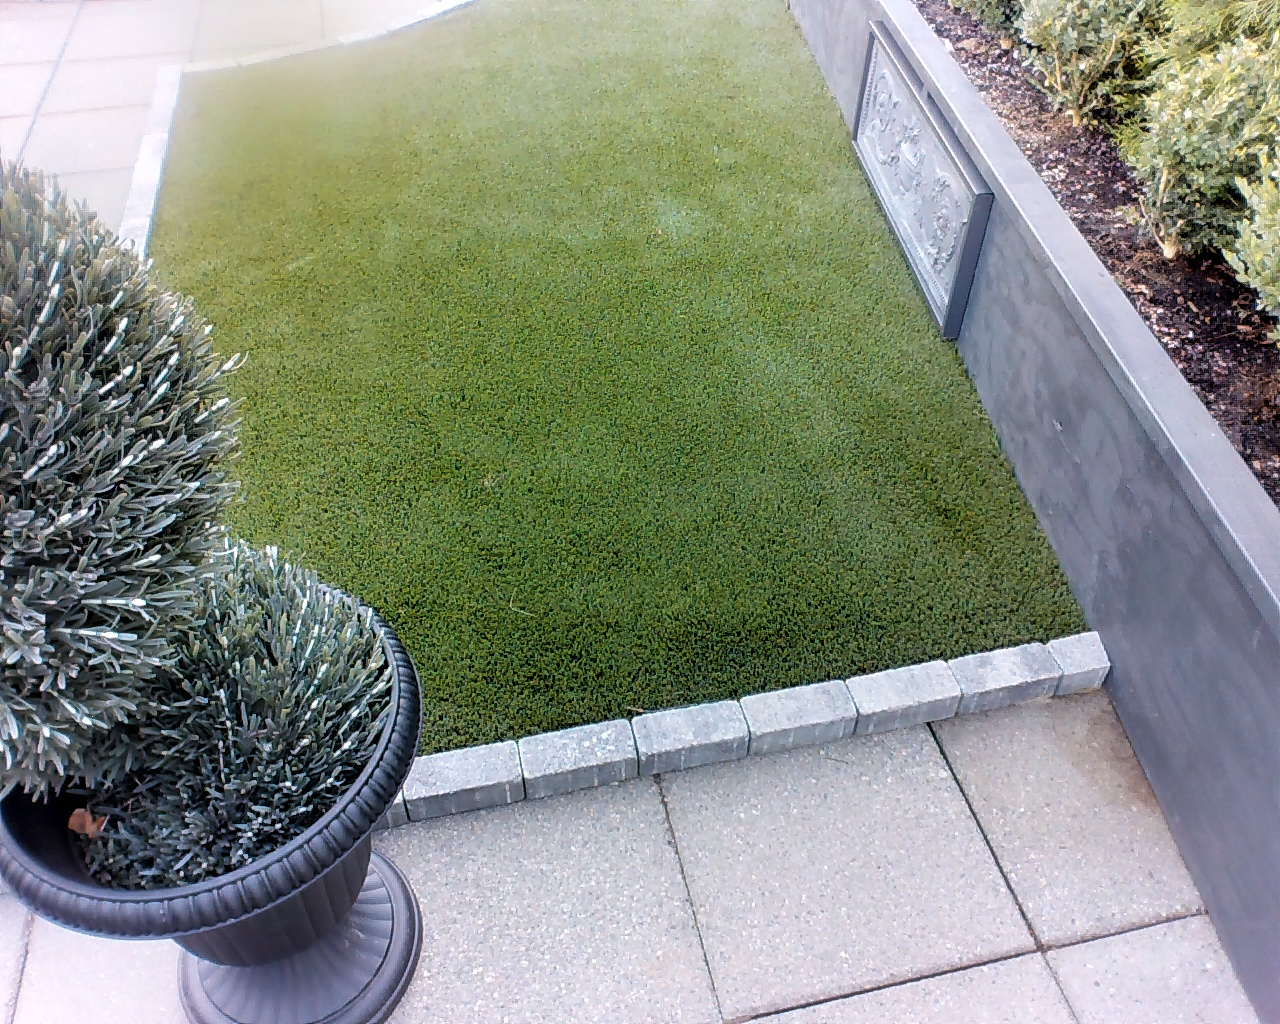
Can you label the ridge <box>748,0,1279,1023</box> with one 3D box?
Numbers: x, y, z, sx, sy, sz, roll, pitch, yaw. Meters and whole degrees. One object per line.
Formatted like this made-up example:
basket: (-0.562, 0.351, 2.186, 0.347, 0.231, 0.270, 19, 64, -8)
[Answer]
ridge: (0.890, -1.210, 3.030, 0.620, 0.540, 5.541, -3, 43, -4)
